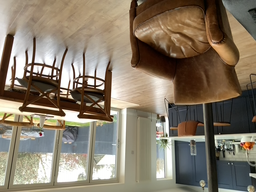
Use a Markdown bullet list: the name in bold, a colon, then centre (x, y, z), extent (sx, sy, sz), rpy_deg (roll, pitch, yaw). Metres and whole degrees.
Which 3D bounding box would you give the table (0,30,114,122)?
- **table**: centre (-1.090, -0.130, 3.060), extent (1.550, 0.780, 0.870), rpy_deg (14, 161, -39)

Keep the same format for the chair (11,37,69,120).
- **chair**: centre (-1.110, -0.180, 2.690), extent (0.430, 0.870, 0.510), rpy_deg (14, 161, -39)

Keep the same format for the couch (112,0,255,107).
- **couch**: centre (0.470, -0.440, 1.750), extent (0.730, 0.840, 0.930), rpy_deg (-12, 160, 40)
